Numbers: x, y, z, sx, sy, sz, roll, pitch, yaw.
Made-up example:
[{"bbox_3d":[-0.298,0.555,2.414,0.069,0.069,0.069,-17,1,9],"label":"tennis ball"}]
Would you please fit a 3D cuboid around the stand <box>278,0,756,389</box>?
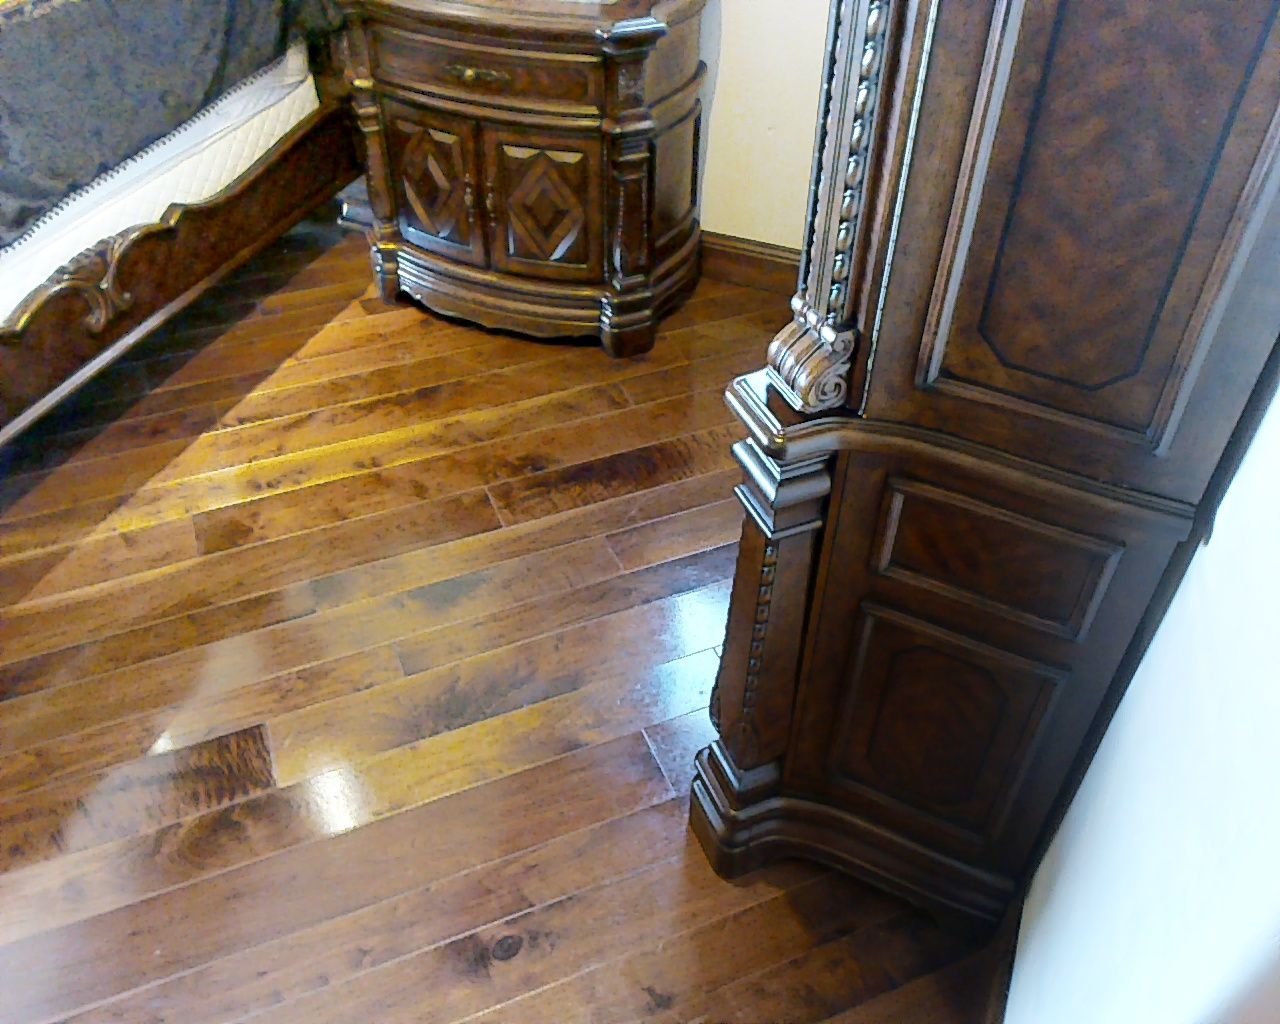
[{"bbox_3d":[-0.280,-0.970,2.780,0.980,0.940,0.570,16,44,16],"label":"stand"}]
